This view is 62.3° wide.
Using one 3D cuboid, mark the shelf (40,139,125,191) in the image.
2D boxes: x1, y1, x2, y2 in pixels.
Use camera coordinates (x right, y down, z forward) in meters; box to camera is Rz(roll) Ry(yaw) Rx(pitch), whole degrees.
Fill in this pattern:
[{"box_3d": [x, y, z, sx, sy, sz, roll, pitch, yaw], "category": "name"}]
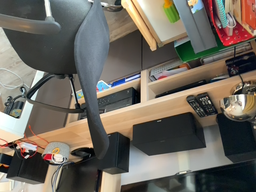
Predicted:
[{"box_3d": [-0.380, 0.980, 1.430, 0.660, 1.270, 0.200, -18, 141, 27], "category": "shelf"}]
